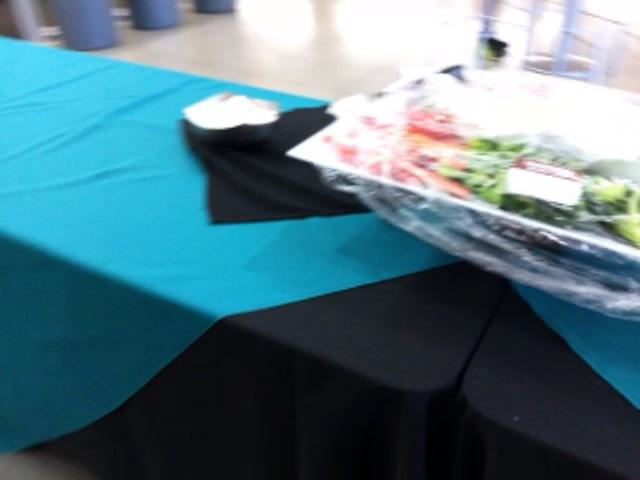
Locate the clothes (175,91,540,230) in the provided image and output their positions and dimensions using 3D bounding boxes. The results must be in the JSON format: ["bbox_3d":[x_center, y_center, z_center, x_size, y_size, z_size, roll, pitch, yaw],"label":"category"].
[{"bbox_3d":[0.020,-0.190,1.140,0.580,0.040,0.530,-9,27,-11],"label":"clothes"}]
